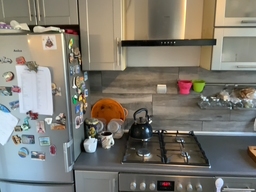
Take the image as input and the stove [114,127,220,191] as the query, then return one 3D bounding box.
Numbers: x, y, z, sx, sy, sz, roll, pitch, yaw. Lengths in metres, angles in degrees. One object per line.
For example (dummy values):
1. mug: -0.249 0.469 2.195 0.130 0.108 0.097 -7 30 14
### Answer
1. stove: 0.260 0.450 1.630 0.650 0.180 0.610 1 14 5
